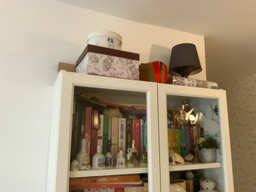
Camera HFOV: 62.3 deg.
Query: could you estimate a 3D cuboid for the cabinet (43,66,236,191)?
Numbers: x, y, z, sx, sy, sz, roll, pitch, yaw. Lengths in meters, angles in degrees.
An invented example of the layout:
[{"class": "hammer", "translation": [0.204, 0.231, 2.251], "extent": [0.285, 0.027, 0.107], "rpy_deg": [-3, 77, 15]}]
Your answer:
[{"class": "cabinet", "translation": [0.060, 0.940, 0.870], "extent": [0.830, 2.000, 0.310], "rpy_deg": [6, -12, -24]}]
